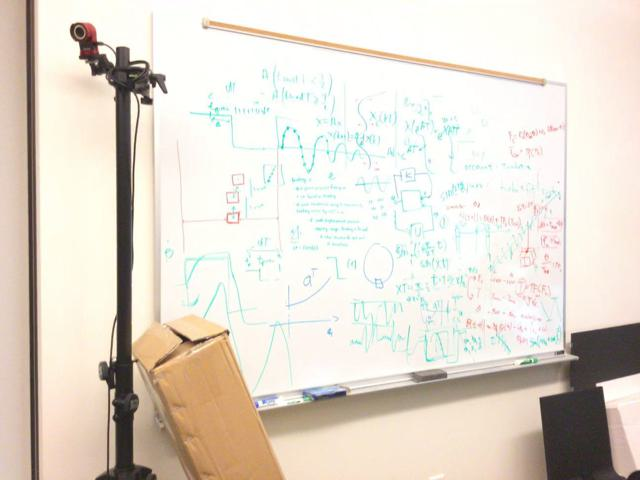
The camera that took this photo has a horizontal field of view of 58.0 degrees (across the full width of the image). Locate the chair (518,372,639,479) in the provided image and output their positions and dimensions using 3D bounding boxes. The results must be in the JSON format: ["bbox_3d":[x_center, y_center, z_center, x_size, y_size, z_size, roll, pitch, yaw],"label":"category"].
[{"bbox_3d":[1.200,0.990,2.220,0.560,0.800,0.600,0,-1,-27],"label":"chair"}]

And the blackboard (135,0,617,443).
[{"bbox_3d":[0.380,-0.080,2.150,2.040,1.320,0.100,0,-1,-27],"label":"blackboard"}]

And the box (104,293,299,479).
[{"bbox_3d":[-0.180,0.800,1.580,0.260,1.300,0.310,-25,10,-25],"label":"box"}]
